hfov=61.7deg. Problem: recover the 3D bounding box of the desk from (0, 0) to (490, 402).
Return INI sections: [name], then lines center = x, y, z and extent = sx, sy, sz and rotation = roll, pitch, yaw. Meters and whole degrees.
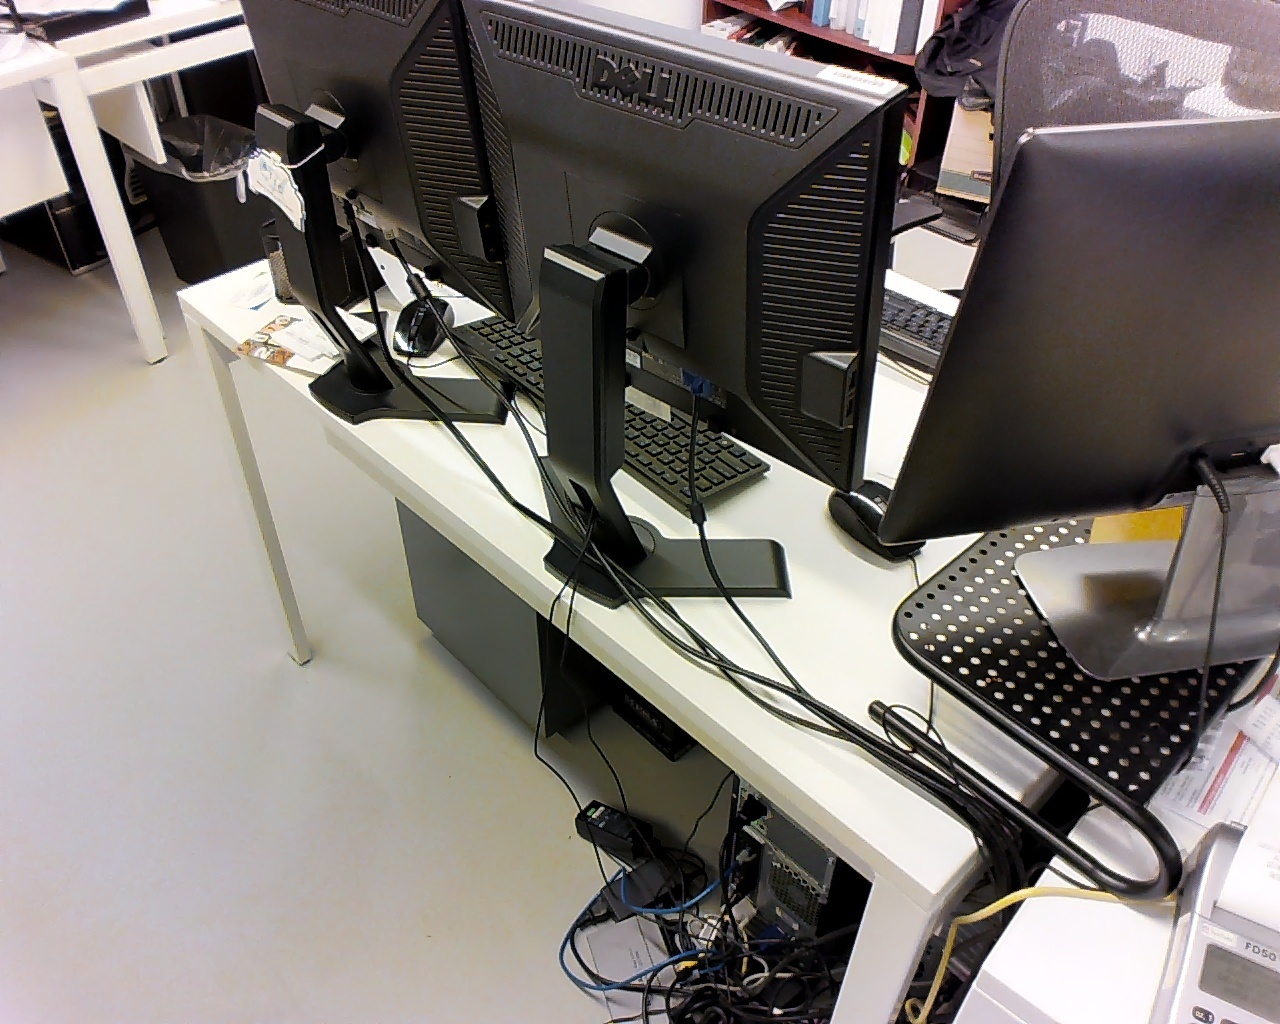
[desk]
center = -1.370, -1.150, 2.960
extent = 1.440, 0.750, 1.180
rotation = 32, 50, 31
